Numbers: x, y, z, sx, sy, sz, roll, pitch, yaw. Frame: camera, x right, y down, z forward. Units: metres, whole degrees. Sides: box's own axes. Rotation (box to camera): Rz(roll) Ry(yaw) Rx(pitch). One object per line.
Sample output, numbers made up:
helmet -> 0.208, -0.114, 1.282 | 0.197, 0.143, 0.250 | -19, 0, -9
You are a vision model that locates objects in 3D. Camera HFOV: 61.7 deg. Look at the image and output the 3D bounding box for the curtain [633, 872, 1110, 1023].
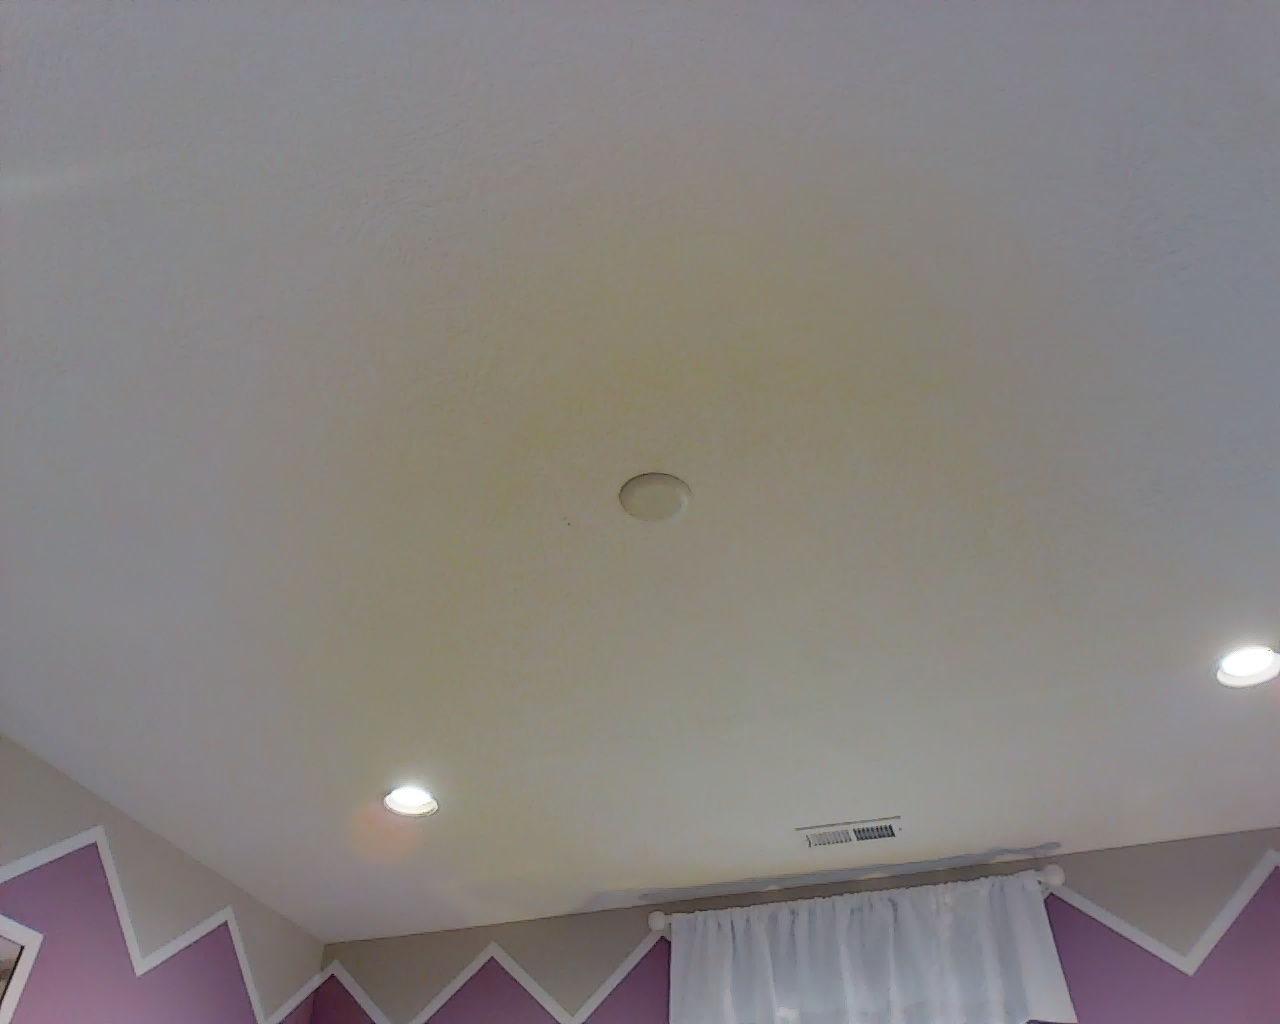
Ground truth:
curtain -> 0.640, 1.330, 3.140 | 1.320, 0.500, 0.120 | -7, -42, 19
